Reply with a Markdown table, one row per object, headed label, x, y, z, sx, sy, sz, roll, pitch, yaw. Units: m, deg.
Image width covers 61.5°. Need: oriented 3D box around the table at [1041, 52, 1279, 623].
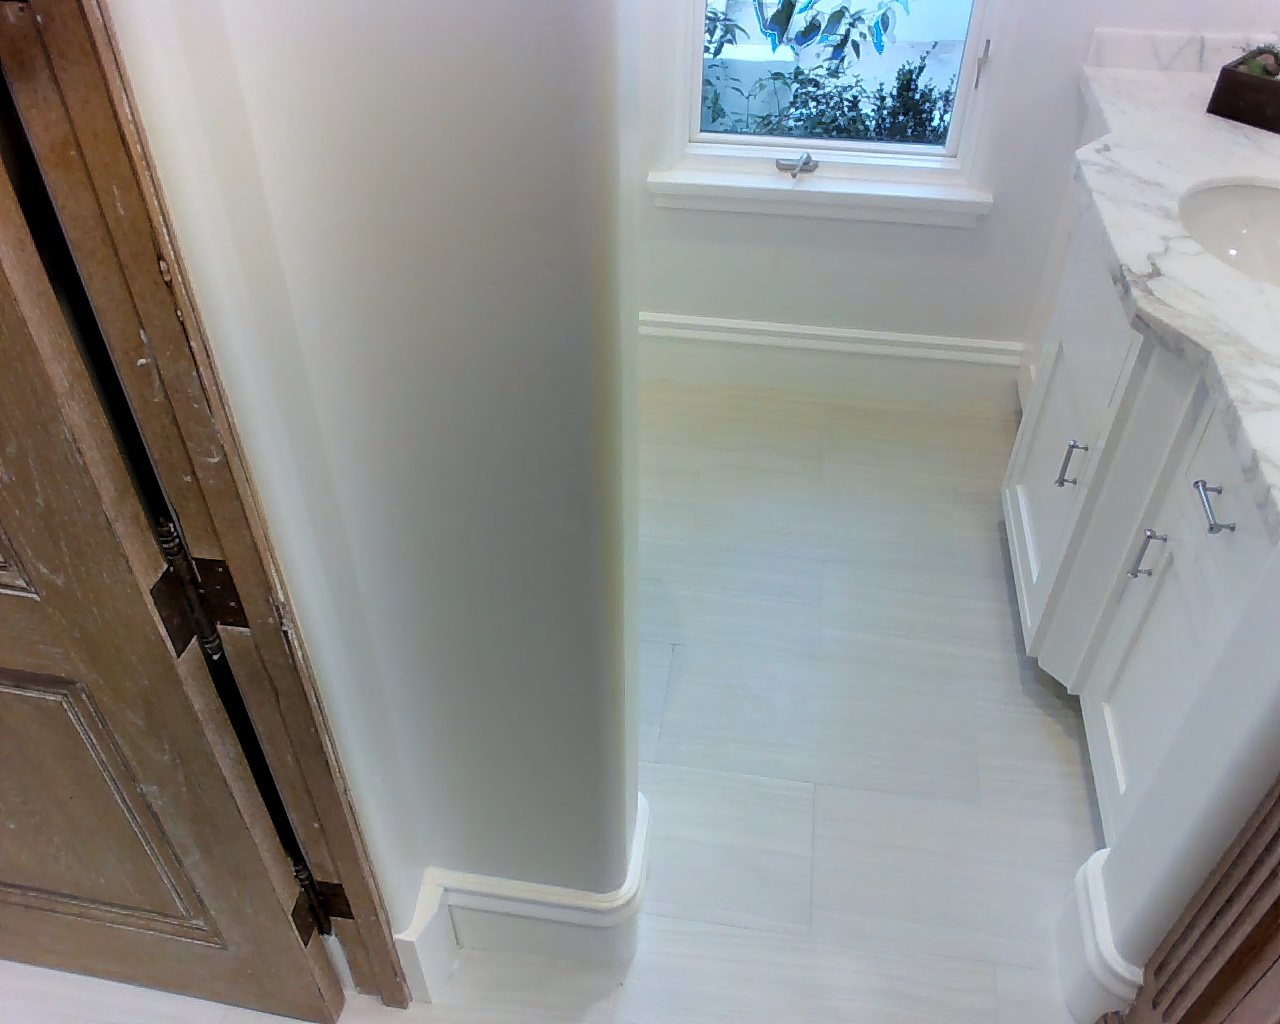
| label | x | y | z | sx | sy | sz | roll | pitch | yaw |
| --- | --- | --- | --- | --- | --- | --- | --- | --- | --- |
| table | 1.100 | -0.400 | 1.790 | 0.660 | 0.170 | 1.500 | 7 | 42 | 8 |
